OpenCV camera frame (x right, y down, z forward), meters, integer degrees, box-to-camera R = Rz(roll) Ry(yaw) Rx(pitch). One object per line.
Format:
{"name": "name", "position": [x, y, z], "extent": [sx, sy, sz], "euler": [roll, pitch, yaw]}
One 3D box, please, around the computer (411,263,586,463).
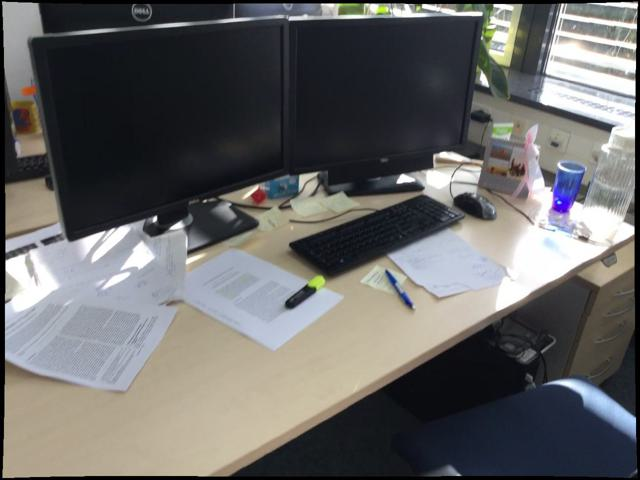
{"name": "computer", "position": [0.509, 0.350, 1.720], "extent": [0.270, 0.390, 0.340], "euler": [-21, 38, -34]}
